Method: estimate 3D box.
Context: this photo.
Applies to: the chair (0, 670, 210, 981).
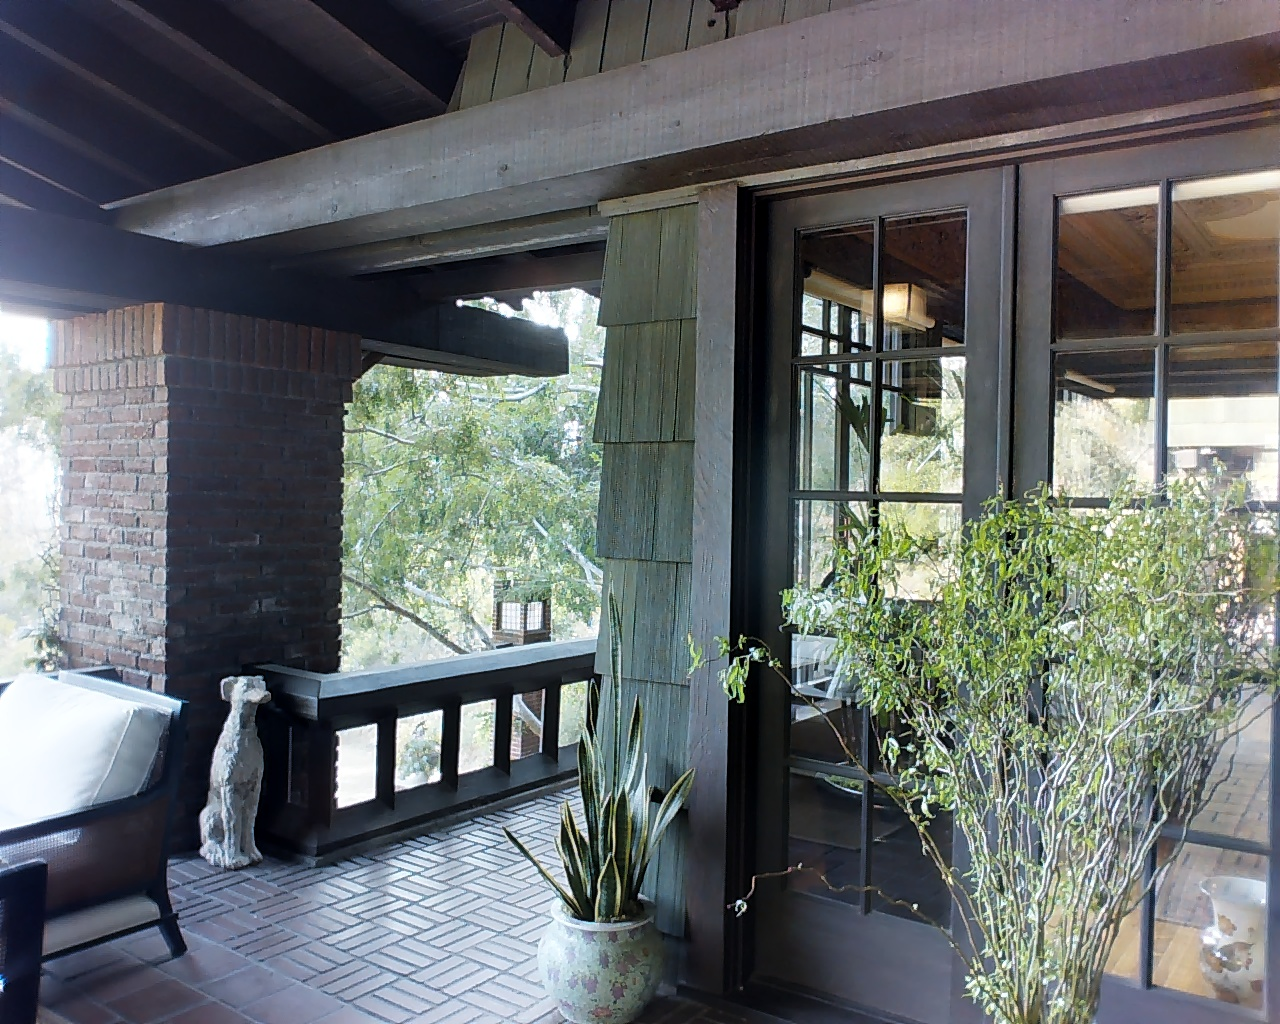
[{"bbox_3d":[-2.040,0.970,3.410,0.710,0.740,1.030,1,1,35],"label":"chair"}]
